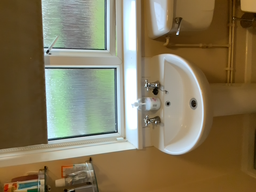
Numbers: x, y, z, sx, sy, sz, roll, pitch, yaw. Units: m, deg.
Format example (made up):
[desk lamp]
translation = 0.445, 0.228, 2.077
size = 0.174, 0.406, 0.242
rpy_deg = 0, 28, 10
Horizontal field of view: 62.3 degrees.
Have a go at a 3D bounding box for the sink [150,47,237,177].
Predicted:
[sink]
translation = 0.300, 0.050, 1.110
size = 0.450, 0.190, 0.540
rpy_deg = -167, 76, -69
